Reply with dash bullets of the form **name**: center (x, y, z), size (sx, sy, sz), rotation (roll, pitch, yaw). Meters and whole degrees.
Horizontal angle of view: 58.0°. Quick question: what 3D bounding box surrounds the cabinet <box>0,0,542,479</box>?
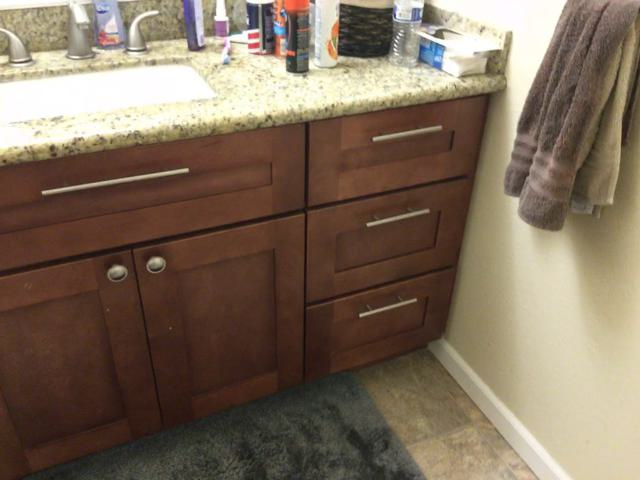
- **cabinet**: center (-0.450, -0.010, 1.370), size (1.680, 1.100, 0.580), rotation (-11, 33, -20)
